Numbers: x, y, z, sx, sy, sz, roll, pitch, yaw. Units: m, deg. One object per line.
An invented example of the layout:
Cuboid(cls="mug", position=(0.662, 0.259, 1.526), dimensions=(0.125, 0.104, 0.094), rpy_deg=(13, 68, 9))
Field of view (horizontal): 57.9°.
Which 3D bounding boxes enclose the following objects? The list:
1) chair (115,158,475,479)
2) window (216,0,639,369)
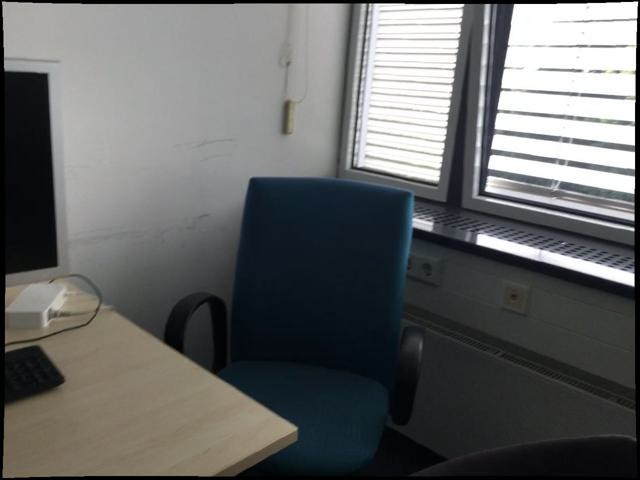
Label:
Cuboid(cls="chair", position=(-0.020, 0.350, 1.520), dimensions=(0.649, 0.971, 0.660), rpy_deg=(9, 19, 18))
Cuboid(cls="window", position=(1.229, -0.070, 0.930), dimensions=(0.850, 0.721, 3.548), rpy_deg=(-15, 25, -43))
